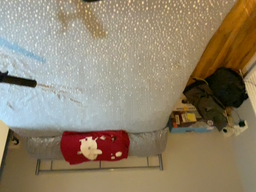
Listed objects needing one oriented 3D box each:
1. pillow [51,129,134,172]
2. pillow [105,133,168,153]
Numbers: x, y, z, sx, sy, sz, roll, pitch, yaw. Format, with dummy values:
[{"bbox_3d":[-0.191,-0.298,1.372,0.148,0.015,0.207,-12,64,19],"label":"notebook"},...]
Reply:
[{"bbox_3d":[-0.320,0.520,2.130,0.690,0.490,0.220,4,93,8],"label":"pillow"},{"bbox_3d":[0.110,0.500,2.240,0.610,0.380,0.140,3,76,11],"label":"pillow"}]
